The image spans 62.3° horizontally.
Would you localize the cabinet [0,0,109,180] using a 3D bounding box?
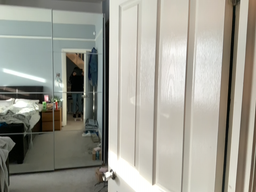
[{"bbox_3d":[-1.140,-0.190,3.270,1.630,2.760,0.310,-1,6,-15],"label":"cabinet"}]
